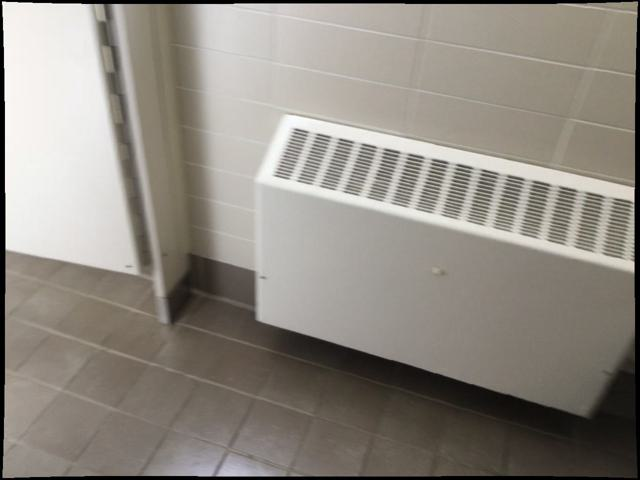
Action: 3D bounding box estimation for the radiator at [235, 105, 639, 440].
[{"bbox_3d":[0.260,0.070,1.290,0.879,0.540,0.180,15,40,15],"label":"radiator"}]
